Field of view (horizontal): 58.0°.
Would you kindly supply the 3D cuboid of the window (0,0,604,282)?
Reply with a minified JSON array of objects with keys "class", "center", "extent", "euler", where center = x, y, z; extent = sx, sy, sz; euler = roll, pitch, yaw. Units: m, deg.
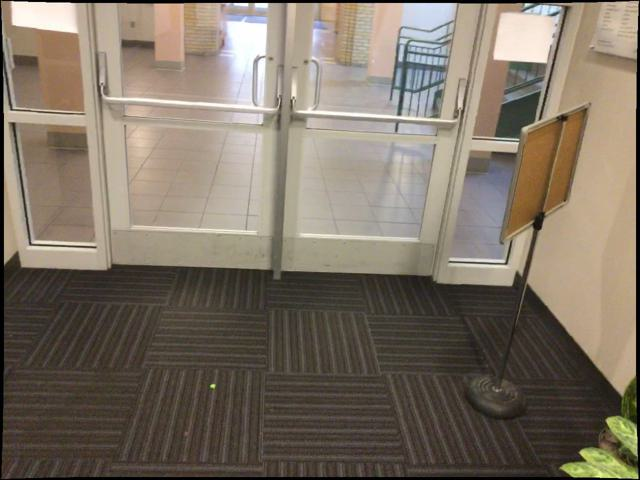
[{"class":"window","center":[-0.180,-1.203,2.590],"extent":[2.674,2.835,0.670],"euler":[1,28,-2]}]
